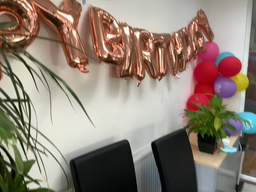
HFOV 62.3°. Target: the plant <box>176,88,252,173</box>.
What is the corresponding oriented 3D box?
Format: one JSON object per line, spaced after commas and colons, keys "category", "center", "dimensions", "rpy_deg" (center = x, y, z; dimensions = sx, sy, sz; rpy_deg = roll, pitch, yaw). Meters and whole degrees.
{"category": "plant", "center": [0.700, 0.220, 1.710], "dimensions": [0.430, 0.490, 0.510], "rpy_deg": [6, 11, 35]}
